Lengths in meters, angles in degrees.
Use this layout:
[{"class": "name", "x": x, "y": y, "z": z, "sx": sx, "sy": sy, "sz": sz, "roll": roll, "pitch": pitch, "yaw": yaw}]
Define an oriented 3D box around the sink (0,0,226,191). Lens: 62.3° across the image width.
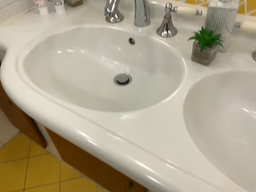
[{"class": "sink", "x": -0.120, "y": -0.090, "z": 0.680, "sx": 0.650, "sy": 0.200, "sz": 0.520, "roll": 24, "pitch": 51, "yaw": 24}]
